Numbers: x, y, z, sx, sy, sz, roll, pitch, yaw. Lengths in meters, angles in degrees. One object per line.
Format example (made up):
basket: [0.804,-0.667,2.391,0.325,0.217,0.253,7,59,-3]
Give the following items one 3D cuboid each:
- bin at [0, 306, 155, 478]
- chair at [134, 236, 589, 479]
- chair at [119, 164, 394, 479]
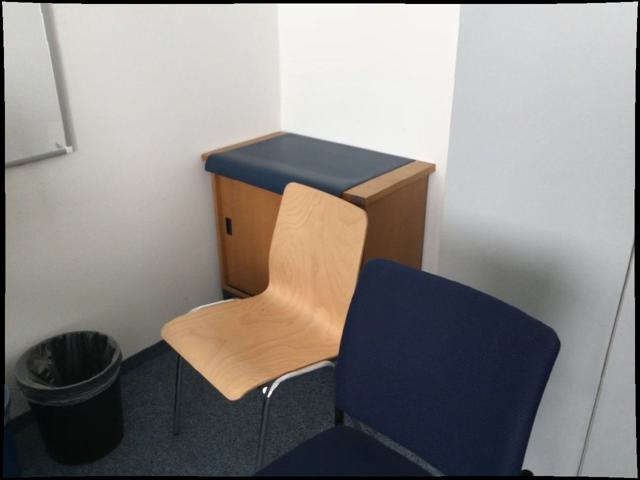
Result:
bin: [-0.779,0.470,1.860,0.340,0.320,0.300,20,33,35]
chair: [0.100,0.521,1.140,0.480,0.791,0.630,20,33,35]
chair: [-0.170,0.230,1.760,0.490,0.711,0.580,24,35,39]
